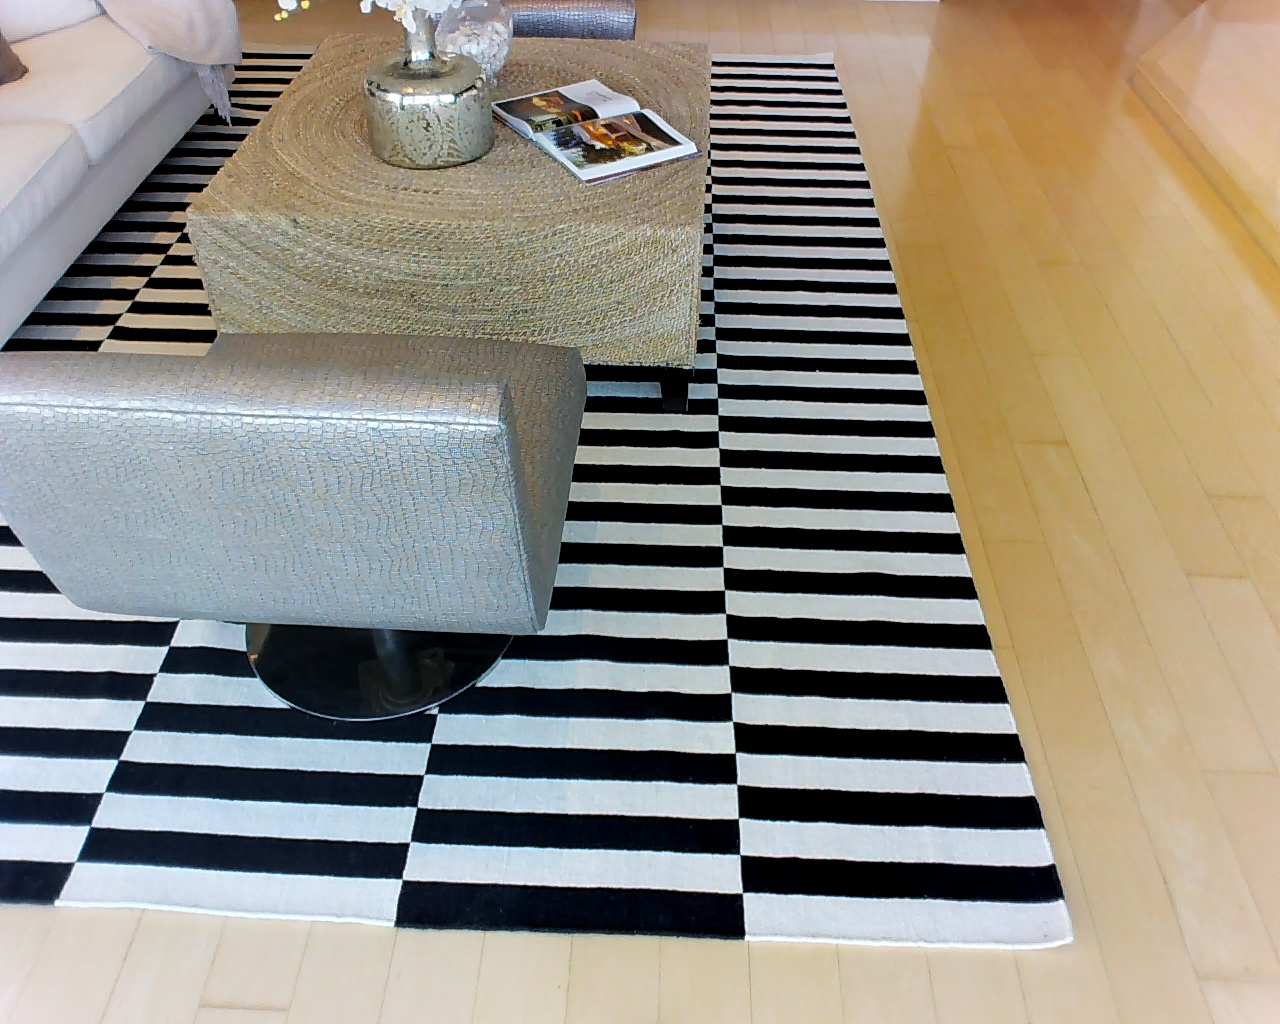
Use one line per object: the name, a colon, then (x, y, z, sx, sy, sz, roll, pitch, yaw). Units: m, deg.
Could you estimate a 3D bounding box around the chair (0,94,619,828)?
chair: (-0.460, -0.100, 1.740, 0.770, 0.810, 0.820, 3, 43, 3)
